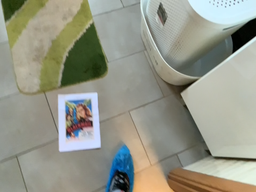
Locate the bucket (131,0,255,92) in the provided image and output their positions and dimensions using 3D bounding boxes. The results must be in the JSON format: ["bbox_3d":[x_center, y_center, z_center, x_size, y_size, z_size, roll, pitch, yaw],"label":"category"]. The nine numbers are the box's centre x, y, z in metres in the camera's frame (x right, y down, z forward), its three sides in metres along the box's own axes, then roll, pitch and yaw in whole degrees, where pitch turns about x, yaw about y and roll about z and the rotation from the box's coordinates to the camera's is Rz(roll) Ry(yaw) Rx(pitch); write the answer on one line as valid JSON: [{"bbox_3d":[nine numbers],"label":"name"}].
[{"bbox_3d":[0.330,-0.370,1.030,0.430,0.640,0.440,-19,79,-11],"label":"bucket"}]
